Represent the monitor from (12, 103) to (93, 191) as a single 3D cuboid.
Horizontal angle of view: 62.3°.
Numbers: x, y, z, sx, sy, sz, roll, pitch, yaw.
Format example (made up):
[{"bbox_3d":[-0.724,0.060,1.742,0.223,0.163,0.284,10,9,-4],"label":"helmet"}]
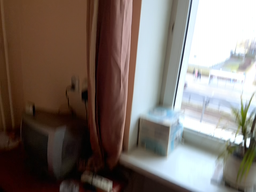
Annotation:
[{"bbox_3d":[-0.470,0.300,1.330,0.390,0.360,0.300,19,23,36],"label":"monitor"}]
